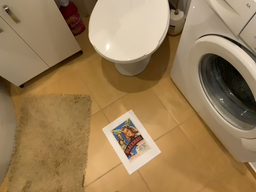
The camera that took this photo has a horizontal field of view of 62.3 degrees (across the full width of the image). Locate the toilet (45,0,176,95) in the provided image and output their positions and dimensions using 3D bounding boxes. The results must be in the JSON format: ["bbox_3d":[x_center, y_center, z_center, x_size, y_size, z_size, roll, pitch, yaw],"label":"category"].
[{"bbox_3d":[0.030,-0.460,1.050,0.380,0.730,0.670,9,73,7],"label":"toilet"}]
